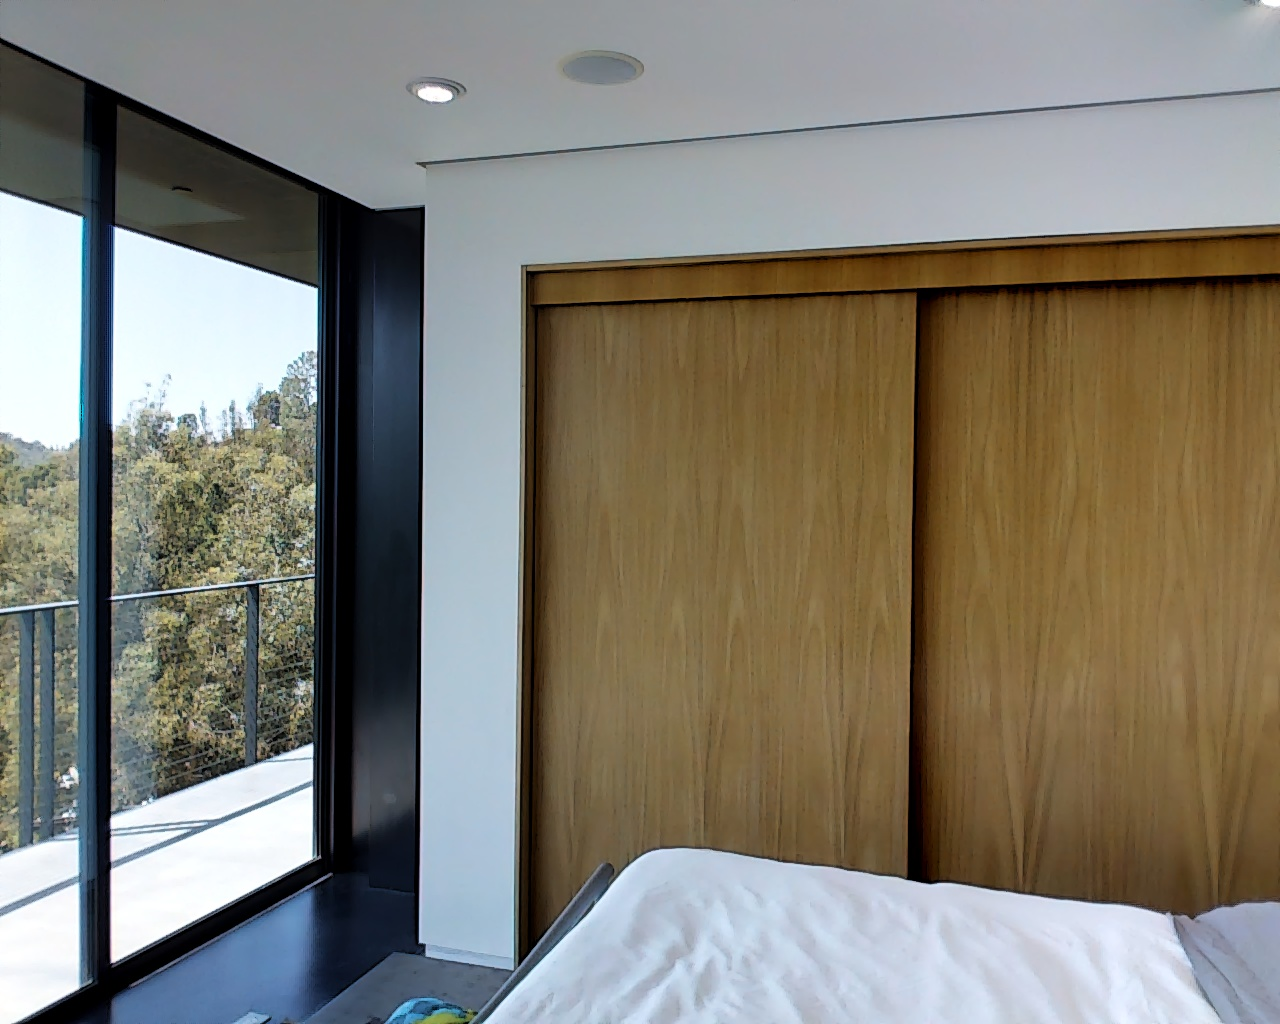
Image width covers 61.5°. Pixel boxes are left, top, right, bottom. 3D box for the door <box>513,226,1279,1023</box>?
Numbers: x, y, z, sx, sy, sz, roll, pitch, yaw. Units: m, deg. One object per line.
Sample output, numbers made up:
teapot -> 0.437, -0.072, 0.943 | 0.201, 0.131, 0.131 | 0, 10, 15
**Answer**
door -> 0.770, 0.380, 3.180 | 2.420, 2.270, 0.150 | 0, 1, 18
